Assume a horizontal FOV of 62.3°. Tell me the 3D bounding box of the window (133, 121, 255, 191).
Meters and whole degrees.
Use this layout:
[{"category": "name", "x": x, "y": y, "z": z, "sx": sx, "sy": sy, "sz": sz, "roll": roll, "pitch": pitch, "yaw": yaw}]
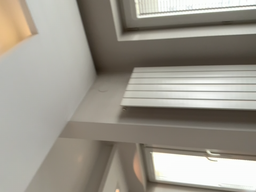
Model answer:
[{"category": "window", "x": 0.830, "y": 0.790, "z": 2.520, "sx": 0.110, "sy": 1.440, "sz": 1.100, "roll": -69, "pitch": -24, "yaw": -51}]
